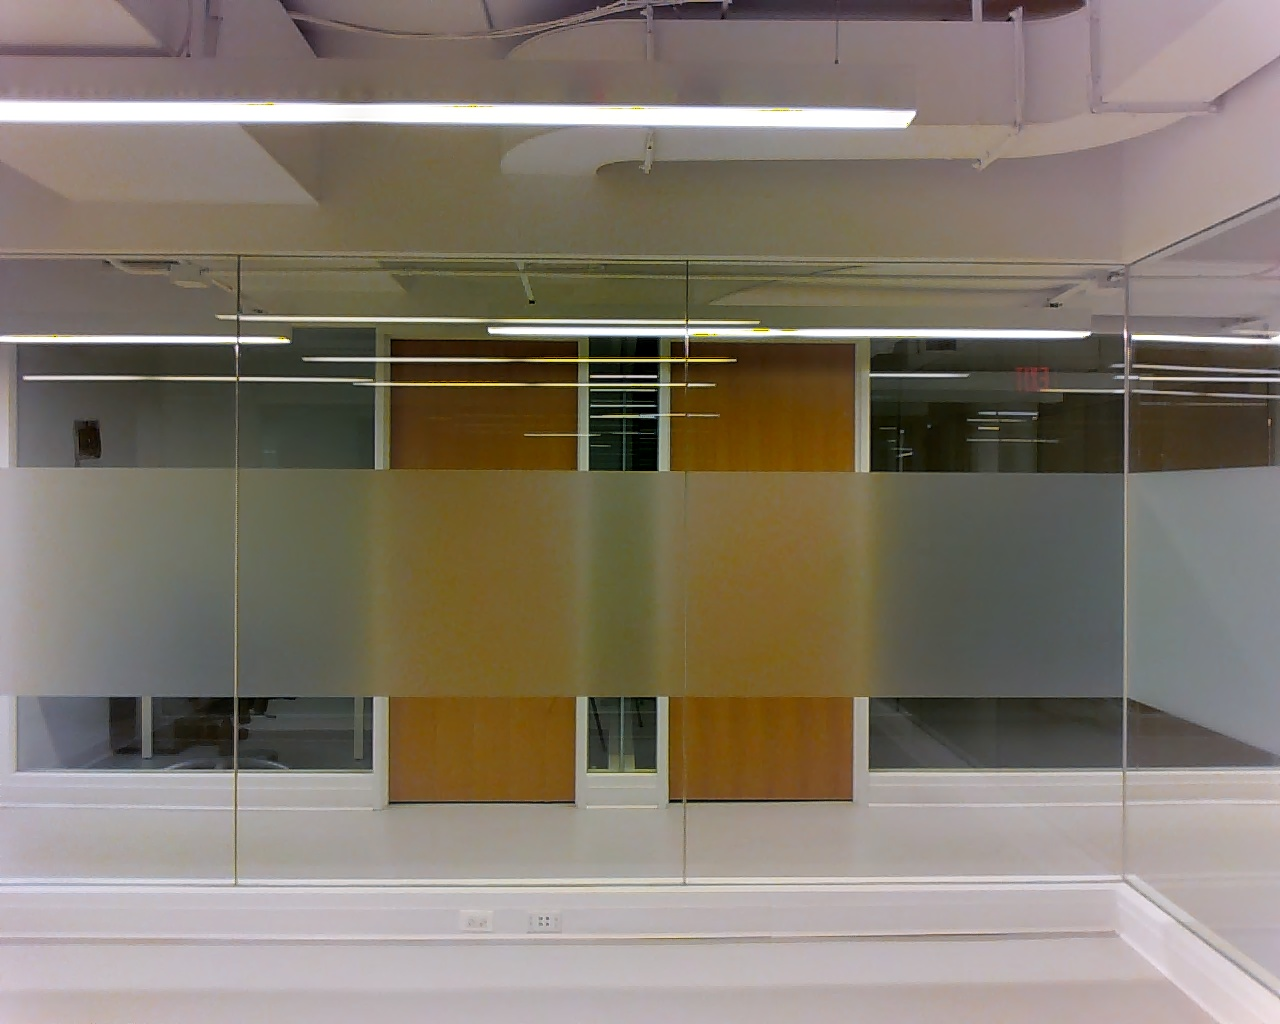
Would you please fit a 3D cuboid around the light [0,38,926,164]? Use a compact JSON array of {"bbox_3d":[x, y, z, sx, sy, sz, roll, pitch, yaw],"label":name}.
[{"bbox_3d":[-0.650,-0.900,2.350,2.519,0.160,0.190,1,0,-2],"label":"light"}]
